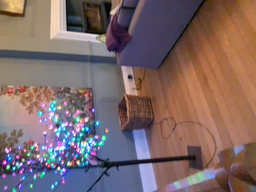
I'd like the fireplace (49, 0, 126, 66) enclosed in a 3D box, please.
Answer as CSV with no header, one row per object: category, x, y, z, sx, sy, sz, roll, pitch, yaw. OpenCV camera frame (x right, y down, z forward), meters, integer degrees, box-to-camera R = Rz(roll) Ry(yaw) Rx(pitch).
fireplace,-1.050,-1.810,5.080,0.710,1.560,2.040,122,143,-55
